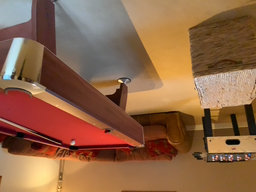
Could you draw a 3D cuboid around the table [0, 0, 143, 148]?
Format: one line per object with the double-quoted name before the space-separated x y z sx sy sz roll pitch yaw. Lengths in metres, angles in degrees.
"table" -0.560 -0.080 1.860 0.940 0.790 1.740 -7 157 18
